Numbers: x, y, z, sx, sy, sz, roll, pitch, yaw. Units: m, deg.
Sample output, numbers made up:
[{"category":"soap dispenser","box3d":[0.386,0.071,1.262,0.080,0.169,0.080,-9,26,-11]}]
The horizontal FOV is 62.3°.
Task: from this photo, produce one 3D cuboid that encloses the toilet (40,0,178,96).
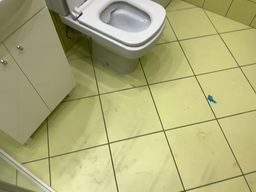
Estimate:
[{"category":"toilet","box3d":[-0.100,-0.510,1.210,0.630,0.820,0.430,28,64,14]}]
